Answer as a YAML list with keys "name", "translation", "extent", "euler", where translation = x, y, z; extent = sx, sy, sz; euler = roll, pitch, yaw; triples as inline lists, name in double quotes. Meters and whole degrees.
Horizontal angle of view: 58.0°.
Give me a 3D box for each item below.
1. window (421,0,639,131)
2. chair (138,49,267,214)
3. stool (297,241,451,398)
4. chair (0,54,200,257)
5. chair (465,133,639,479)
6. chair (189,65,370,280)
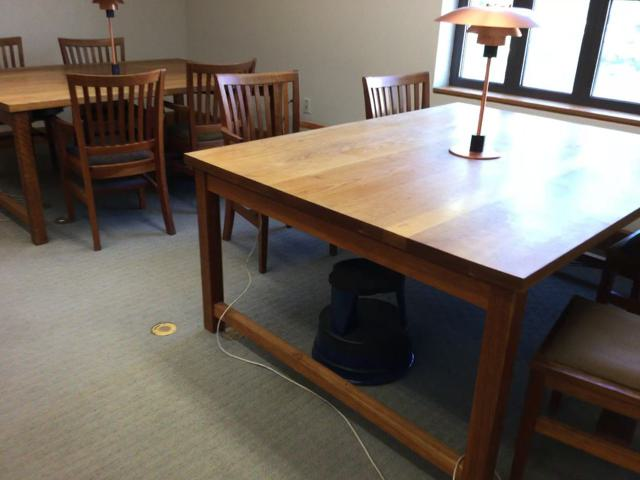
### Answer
- name: "window"
  translation: [1.470, -1.330, 3.130]
  extent: [1.820, 1.290, 0.300]
  euler: [21, 29, 37]
- name: "chair"
  translation: [-0.730, -0.720, 3.710]
  extent: [0.480, 0.900, 0.610]
  euler: [21, 29, 37]
- name: "stool"
  translation: [0.200, 0.280, 2.230]
  extent: [0.410, 0.360, 0.390]
  euler: [21, 29, 37]
- name: "chair"
  translation: [-1.190, -0.520, 3.210]
  extent: [0.650, 0.900, 0.750]
  euler: [21, 29, 37]
- name: "chair"
  translation: [0.880, 0.250, 1.570]
  extent: [0.630, 0.890, 0.640]
  euler: [18, 27, 32]
- name: "chair"
  translation: [-0.220, -0.400, 3.040]
  extent: [0.650, 0.910, 0.620]
  euler: [-19, 31, -41]
